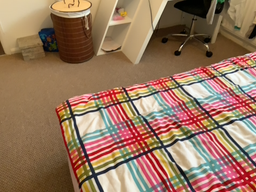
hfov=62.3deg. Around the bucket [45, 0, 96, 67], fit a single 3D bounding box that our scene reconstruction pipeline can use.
[{"bbox_3d":[-0.560,-0.650,2.100,0.350,0.520,0.400,-15,44,-18],"label":"bucket"}]
